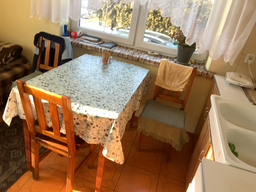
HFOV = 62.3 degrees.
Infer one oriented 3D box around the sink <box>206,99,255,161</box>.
[{"bbox_3d":[0.850,0.250,1.460,0.540,0.170,0.400,16,27,10],"label":"sink"}]
